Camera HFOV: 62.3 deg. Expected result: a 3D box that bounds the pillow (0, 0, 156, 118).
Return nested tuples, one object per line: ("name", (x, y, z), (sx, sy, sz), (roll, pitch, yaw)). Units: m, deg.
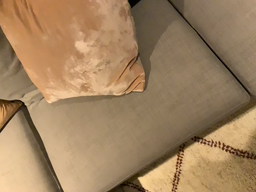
("pillow", (-0.170, -0.170, 0.650), (0.420, 0.300, 0.430), (-1, 90, 30))
